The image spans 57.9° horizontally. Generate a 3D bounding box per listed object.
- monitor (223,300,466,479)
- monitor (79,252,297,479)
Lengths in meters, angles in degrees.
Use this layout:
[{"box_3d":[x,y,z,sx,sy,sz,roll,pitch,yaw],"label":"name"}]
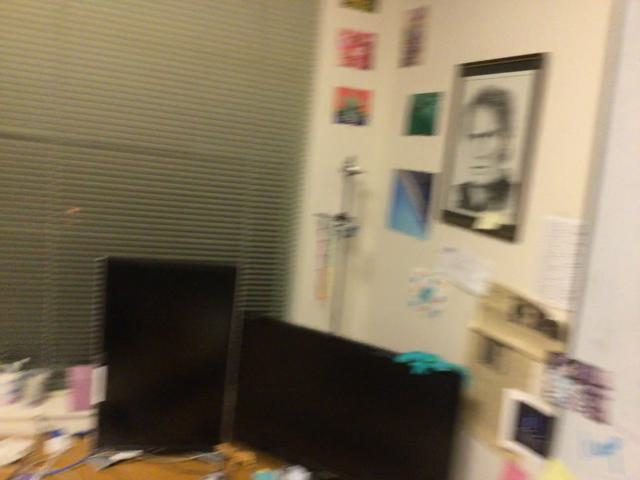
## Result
[{"box_3d":[0.050,0.450,1.530,0.550,0.450,0.220,11,7,30],"label":"monitor"},{"box_3d":[-0.360,0.340,1.560,0.490,0.560,0.200,4,7,-24],"label":"monitor"}]
